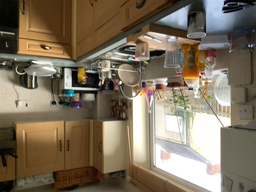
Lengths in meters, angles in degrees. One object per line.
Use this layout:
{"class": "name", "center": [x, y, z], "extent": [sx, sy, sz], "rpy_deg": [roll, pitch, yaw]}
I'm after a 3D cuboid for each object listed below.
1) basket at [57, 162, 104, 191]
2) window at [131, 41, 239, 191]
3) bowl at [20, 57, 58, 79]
{"class": "basket", "center": [-0.570, 0.970, 2.520], "extent": [0.480, 0.230, 0.300], "rpy_deg": [-1, 180, -26]}
{"class": "window", "center": [0.460, 0.220, 2.030], "extent": [0.400, 1.210, 1.000], "rpy_deg": [-1, 180, -30]}
{"class": "bowl", "center": [-0.980, -0.290, 2.310], "extent": [0.290, 0.150, 0.520], "rpy_deg": [-1, 180, -33]}
